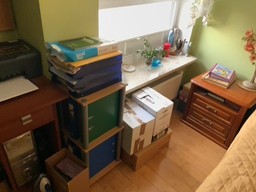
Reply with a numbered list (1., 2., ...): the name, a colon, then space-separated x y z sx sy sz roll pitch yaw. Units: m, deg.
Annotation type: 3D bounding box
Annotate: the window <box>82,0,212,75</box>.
1. window: 0.280 -1.160 1.550 1.280 1.740 0.310 -24 43 -37
